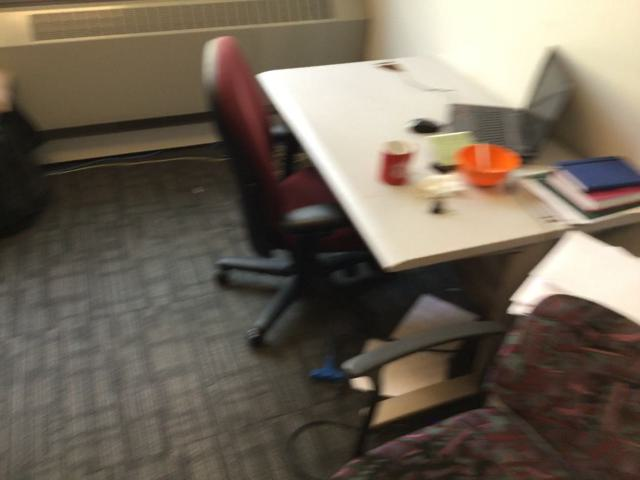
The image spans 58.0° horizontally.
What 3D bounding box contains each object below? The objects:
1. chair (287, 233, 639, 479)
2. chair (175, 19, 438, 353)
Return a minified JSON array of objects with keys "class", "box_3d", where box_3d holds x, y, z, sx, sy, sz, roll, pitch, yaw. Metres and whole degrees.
[{"class":"chair","box_3d":[0.320,0.370,1.020,0.550,0.450,0.600,-9,35,-23]},{"class":"chair","box_3d":[-0.090,-0.160,1.880,0.650,0.920,0.520,1,32,-8]}]
